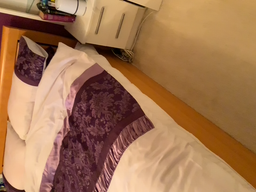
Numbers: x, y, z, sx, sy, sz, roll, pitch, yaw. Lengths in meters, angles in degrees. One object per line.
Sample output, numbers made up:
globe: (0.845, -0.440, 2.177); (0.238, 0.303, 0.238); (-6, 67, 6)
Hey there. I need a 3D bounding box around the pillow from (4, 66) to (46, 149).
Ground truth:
pillow: (-0.820, 0.080, 1.650); (0.380, 0.160, 0.500); (43, 122, 41)
